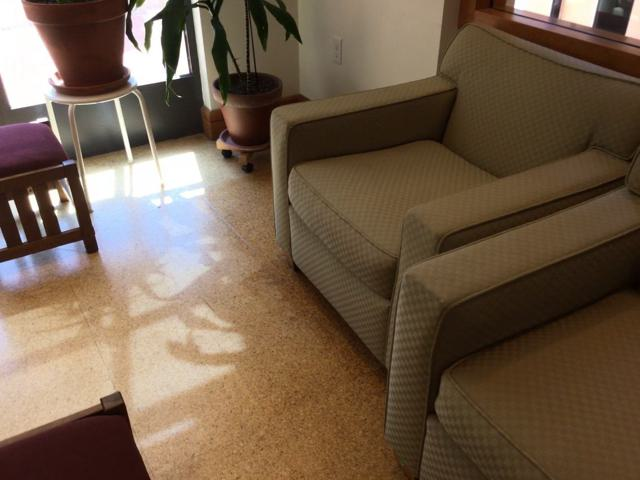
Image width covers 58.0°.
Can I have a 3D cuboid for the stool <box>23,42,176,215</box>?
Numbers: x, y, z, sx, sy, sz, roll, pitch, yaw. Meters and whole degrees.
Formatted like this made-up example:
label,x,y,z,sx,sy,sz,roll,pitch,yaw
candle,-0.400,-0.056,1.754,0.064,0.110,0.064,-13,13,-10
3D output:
label,x,y,z,sx,sy,sz,roll,pitch,yaw
stool,-0.920,-0.490,2.430,0.400,0.520,0.500,-19,37,-27
